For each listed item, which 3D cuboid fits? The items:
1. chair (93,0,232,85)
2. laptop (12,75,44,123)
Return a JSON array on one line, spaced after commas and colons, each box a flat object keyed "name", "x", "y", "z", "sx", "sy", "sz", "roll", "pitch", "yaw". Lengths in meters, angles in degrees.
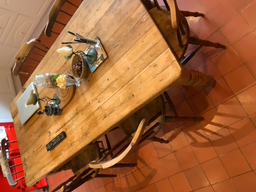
[{"name": "chair", "x": 0.260, "y": -0.370, "z": 1.340, "sx": 0.400, "sy": 0.780, "sz": 0.390, "roll": -39, "pitch": 65, "yaw": 32}, {"name": "laptop", "x": -0.830, "y": 0.030, "z": 1.740, "sx": 0.360, "sy": 0.060, "sz": 0.230, "roll": -41, "pitch": 64, "yaw": 31}]
